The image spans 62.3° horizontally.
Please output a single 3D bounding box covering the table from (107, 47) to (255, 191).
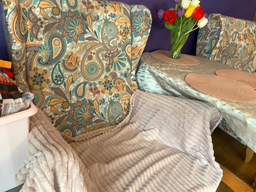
[{"bbox_3d":[0.580,0.220,1.400,0.730,0.710,1.430,-10,31,-36],"label":"table"}]
